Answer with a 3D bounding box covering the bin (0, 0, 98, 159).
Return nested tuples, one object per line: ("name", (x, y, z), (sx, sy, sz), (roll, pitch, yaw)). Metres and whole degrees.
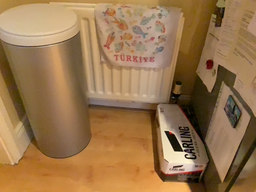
("bin", (-0.350, -0.060, 0.980), (0.320, 0.680, 0.310), (6, 39, 4))
